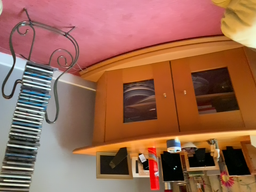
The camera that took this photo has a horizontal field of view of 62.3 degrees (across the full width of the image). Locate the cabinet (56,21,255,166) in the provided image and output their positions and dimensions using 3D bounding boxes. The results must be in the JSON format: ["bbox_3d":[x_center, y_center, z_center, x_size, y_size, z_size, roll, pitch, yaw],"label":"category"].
[{"bbox_3d":[0.360,0.060,1.550,1.460,0.660,0.680,-8,151,12],"label":"cabinet"}]
